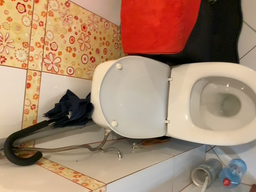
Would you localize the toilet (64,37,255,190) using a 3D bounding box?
[{"bbox_3d":[0.250,0.030,1.000,0.710,0.750,0.360,6,90,35],"label":"toilet"}]
